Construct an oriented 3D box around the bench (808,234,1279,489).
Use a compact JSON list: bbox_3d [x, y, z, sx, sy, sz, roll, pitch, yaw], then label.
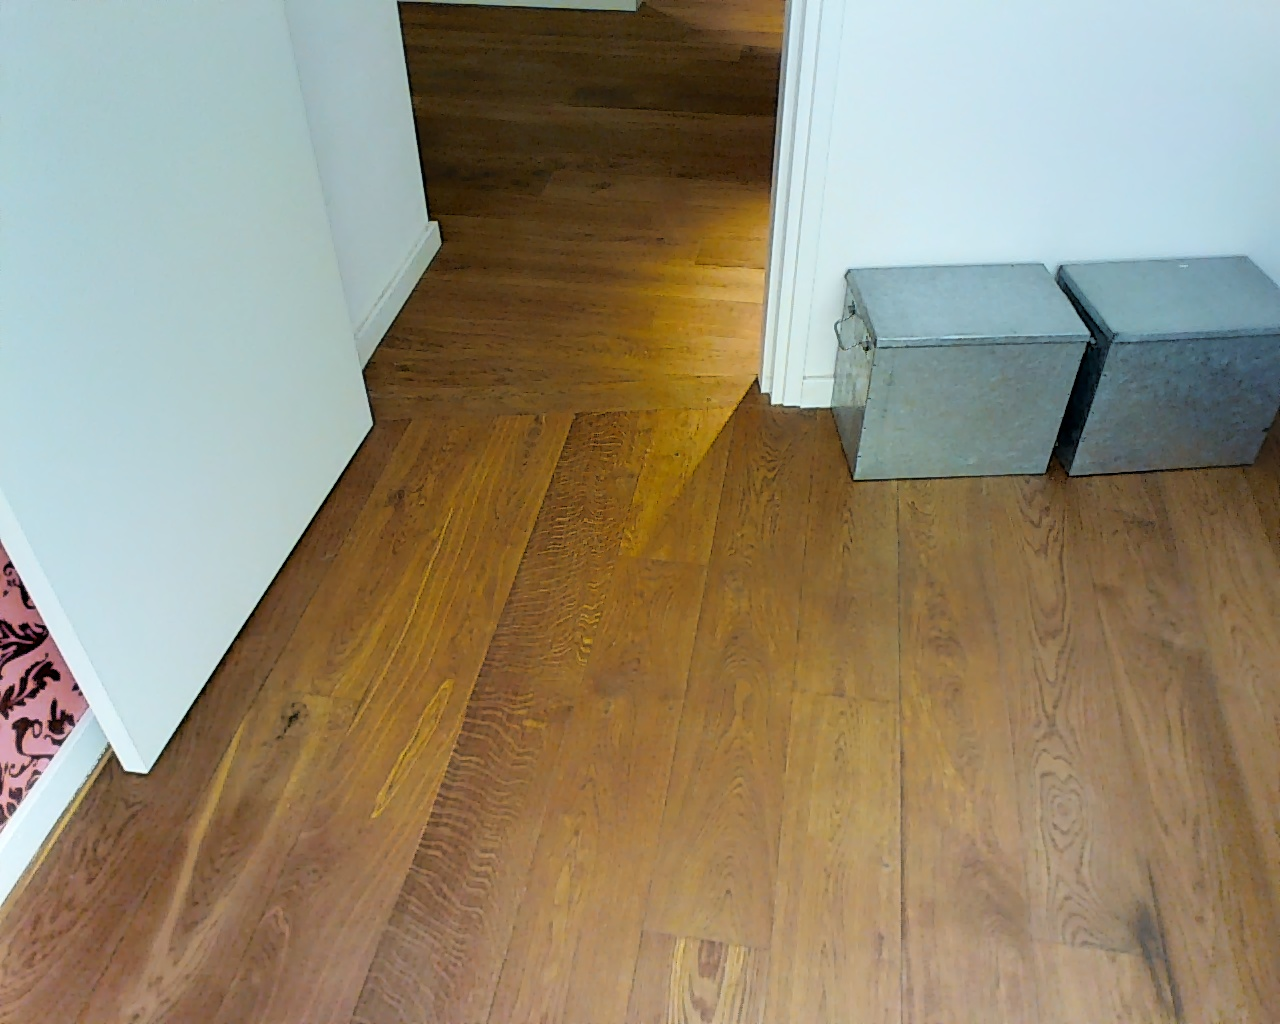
[{"bbox_3d":[0.880,-0.310,2.200,0.990,0.370,0.310,-3,41,-2],"label":"bench"}]
